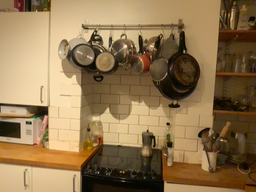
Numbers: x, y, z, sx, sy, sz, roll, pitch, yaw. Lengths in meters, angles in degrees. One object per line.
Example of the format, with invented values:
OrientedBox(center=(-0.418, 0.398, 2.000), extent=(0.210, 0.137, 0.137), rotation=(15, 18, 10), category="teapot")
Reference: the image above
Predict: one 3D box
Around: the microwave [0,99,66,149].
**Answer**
OrientedBox(center=(-0.970, 0.250, 2.070), extent=(0.600, 0.370, 0.370), rotation=(3, 5, 10), category="microwave")

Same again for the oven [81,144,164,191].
OrientedBox(center=(-0.010, 0.970, 1.850), extent=(0.600, 0.880, 0.630), rotation=(3, 5, 10), category="oven")
